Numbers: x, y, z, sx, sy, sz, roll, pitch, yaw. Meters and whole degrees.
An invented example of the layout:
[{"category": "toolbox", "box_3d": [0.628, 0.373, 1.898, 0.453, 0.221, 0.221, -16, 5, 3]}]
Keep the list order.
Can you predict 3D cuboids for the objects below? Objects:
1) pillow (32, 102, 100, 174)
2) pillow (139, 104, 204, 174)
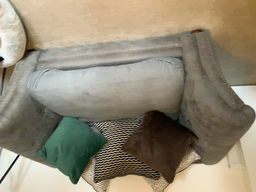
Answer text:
[{"category": "pillow", "box_3d": [-0.470, 0.350, 1.750, 0.410, 0.500, 0.320, 2, 151, -2]}, {"category": "pillow", "box_3d": [0.300, 0.330, 1.620, 0.420, 0.460, 0.270, -2, 151, 5]}]
